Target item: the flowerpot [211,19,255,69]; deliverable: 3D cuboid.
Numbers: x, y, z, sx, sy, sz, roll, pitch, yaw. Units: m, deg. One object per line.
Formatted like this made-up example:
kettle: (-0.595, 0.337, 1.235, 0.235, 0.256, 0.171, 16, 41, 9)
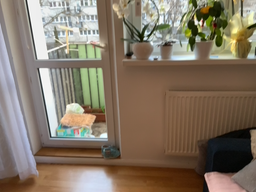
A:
flowerpot: (0.820, -0.400, 1.610, 0.280, 0.340, 0.240, 1, 20, 7)
